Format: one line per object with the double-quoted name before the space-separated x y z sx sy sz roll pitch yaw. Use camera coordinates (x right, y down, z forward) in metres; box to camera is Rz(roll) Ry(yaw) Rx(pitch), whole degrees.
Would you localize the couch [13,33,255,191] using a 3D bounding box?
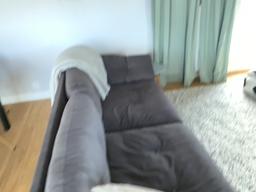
"couch" 0.000 0.200 1.570 0.970 0.790 2.070 -8 29 -8
